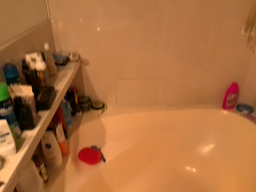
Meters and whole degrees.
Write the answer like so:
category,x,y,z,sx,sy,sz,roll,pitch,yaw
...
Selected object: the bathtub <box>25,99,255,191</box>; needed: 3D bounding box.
category,x,y,z,sx,sy,sz,roll,pitch,yaw
bathtub,0.220,0.660,1.180,1.360,0.610,1.440,1,30,2
